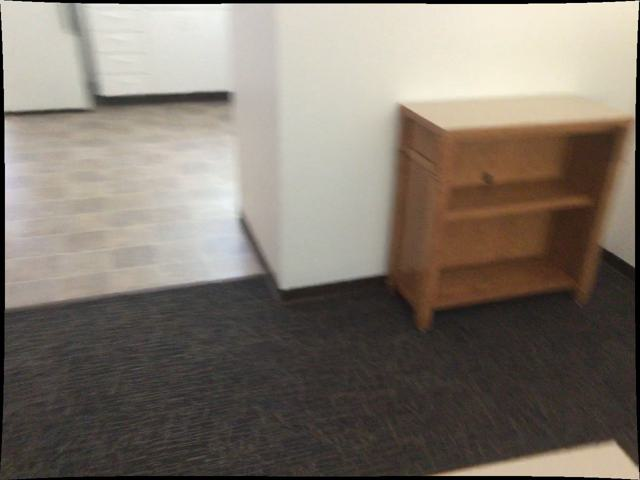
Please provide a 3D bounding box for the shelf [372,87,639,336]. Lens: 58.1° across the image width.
[{"bbox_3d":[0.699,-0.130,2.180,0.879,0.751,0.350,-9,31,-19],"label":"shelf"}]
